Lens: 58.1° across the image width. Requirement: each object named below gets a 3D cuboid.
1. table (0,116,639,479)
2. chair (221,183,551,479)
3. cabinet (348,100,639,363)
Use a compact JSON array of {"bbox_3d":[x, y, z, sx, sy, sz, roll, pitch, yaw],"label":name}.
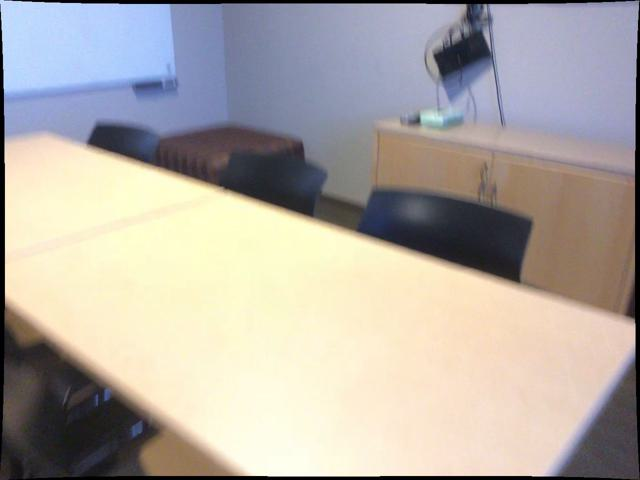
[{"bbox_3d":[-0.489,0.250,1.710,2.378,0.771,0.970,18,29,35],"label":"table"},{"bbox_3d":[0.180,0.180,1.440,0.500,0.411,0.650,18,29,35],"label":"chair"},{"bbox_3d":[0.809,-0.130,2.610,1.269,0.771,0.550,18,29,35],"label":"cabinet"}]
